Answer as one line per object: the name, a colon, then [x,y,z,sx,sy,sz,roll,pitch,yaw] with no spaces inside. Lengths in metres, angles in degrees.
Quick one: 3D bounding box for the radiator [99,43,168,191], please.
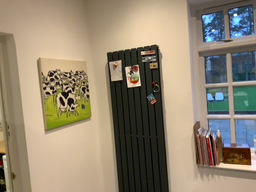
radiator: [0.060,0.410,2.190,0.620,1.790,0.100,-3,4,27]
